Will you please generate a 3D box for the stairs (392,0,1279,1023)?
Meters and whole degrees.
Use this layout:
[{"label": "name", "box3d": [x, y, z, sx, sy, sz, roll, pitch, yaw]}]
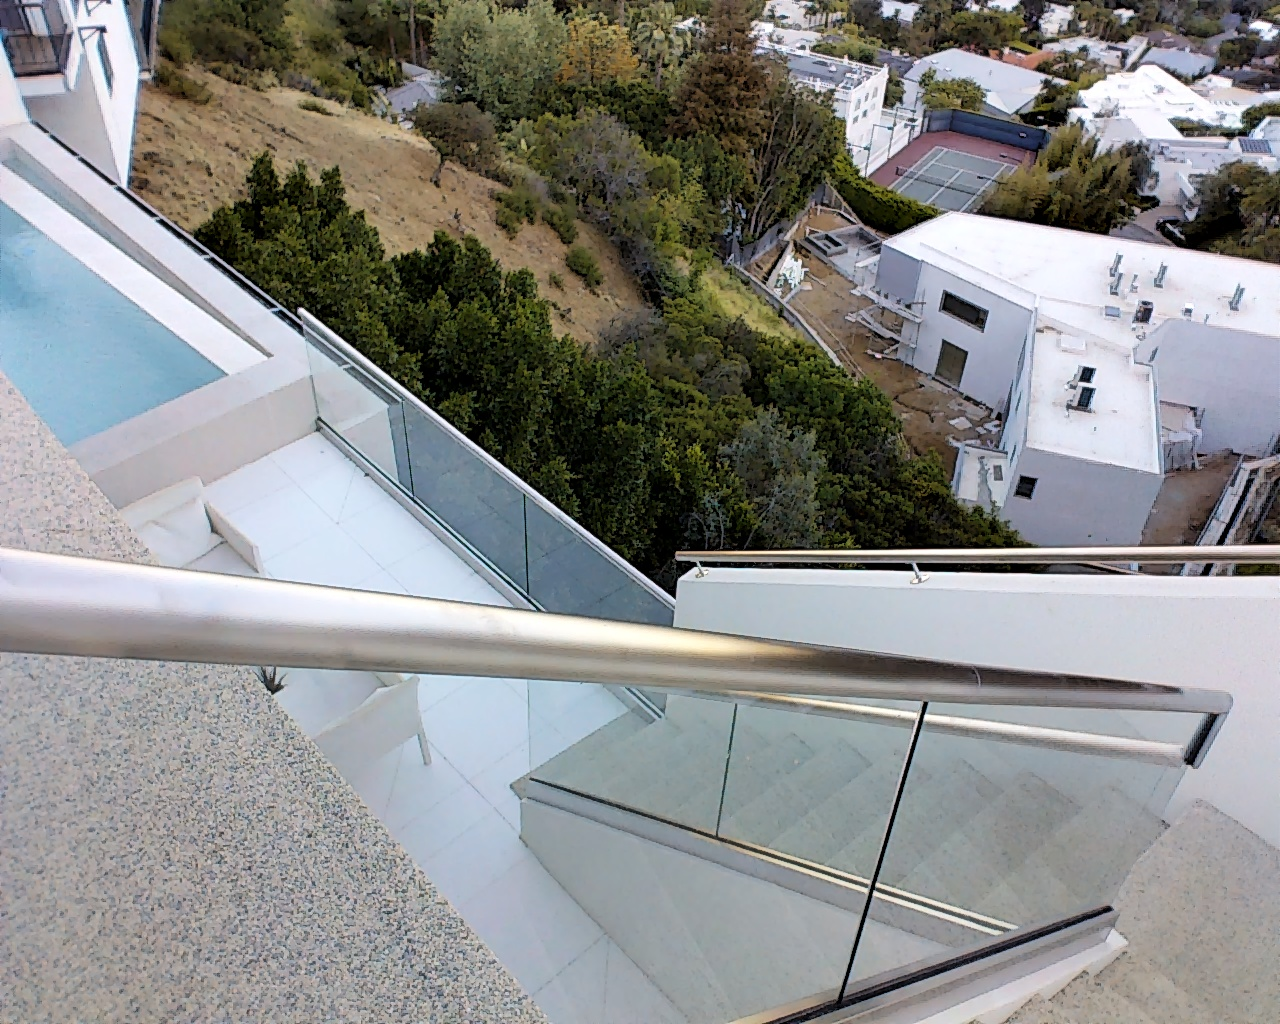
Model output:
[{"label": "stairs", "box3d": [0.950, 0.660, 3.870, 1.530, 4.060, 3.790, -26, 47, -29]}]
